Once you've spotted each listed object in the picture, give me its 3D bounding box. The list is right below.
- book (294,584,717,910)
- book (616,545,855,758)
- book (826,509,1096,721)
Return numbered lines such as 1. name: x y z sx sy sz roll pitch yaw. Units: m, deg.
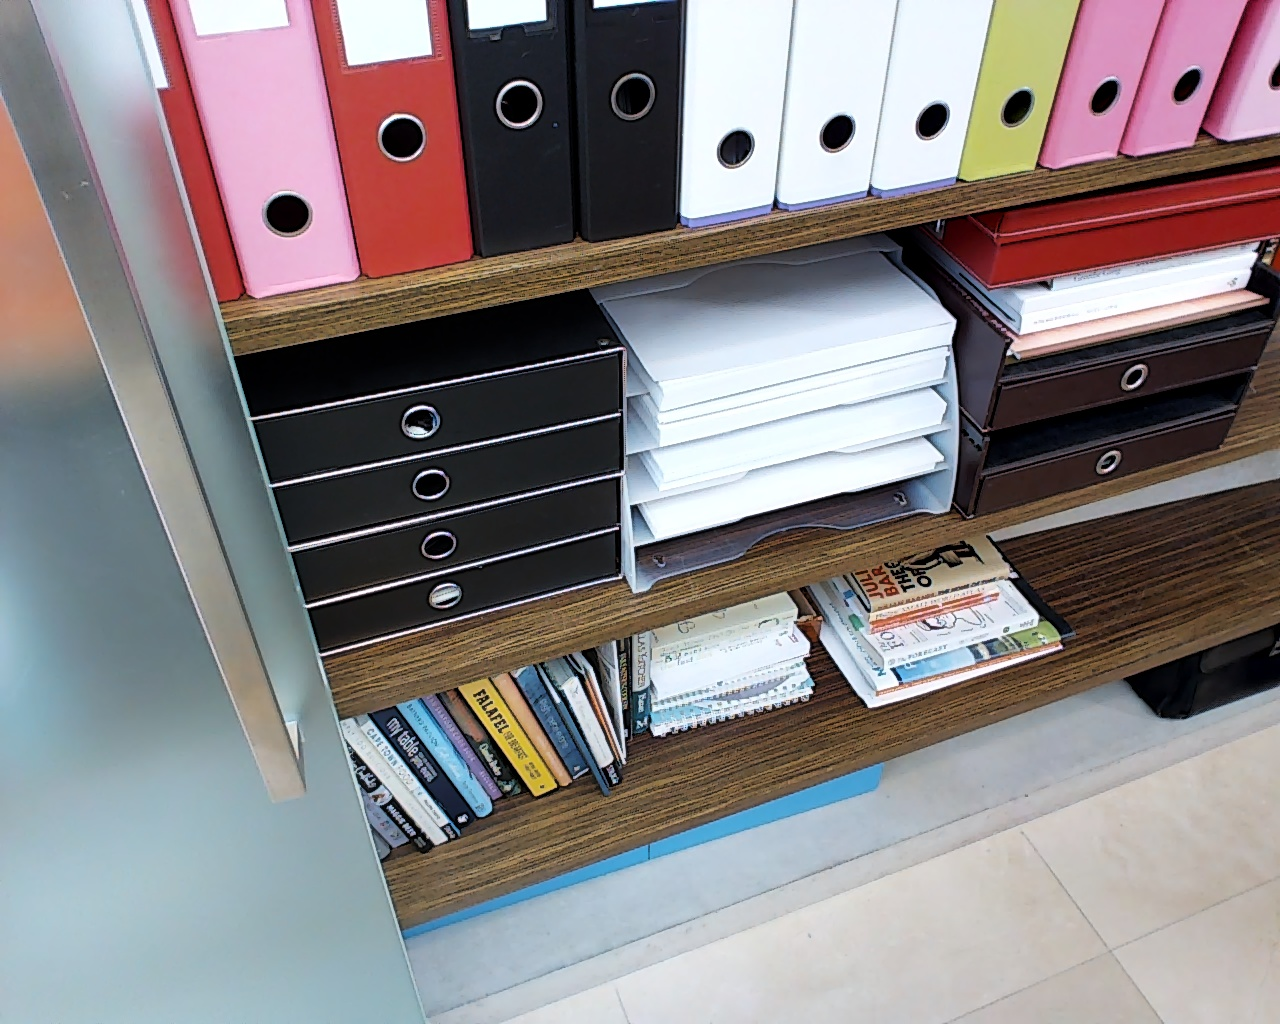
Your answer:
1. book: -0.130 0.250 1.150 0.410 0.240 0.100 -15 43 -16
2. book: 0.110 0.170 1.300 0.260 0.200 0.090 -12 43 -13
3. book: 0.420 0.130 1.430 0.260 0.100 0.210 -15 43 -16
